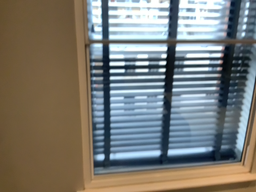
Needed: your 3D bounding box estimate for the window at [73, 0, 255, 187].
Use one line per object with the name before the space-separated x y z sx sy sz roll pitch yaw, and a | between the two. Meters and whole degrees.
window | 0.280 -0.220 1.170 1.100 1.580 0.050 -2 17 -8
